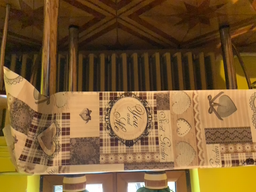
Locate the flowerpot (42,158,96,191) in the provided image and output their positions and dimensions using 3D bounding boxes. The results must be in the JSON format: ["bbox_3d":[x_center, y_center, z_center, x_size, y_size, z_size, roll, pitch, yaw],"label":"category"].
[{"bbox_3d":[-0.400,0.620,1.490,0.340,0.330,0.190,0,169,-5],"label":"flowerpot"}]
